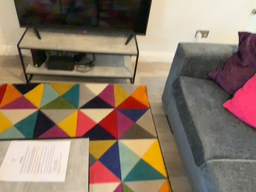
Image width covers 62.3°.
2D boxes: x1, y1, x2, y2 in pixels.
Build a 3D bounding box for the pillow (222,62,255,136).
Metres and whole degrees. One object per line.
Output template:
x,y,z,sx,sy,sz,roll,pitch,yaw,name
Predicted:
0.880,0.040,1.330,0.140,0.430,0.420,1,15,-43,pillow
